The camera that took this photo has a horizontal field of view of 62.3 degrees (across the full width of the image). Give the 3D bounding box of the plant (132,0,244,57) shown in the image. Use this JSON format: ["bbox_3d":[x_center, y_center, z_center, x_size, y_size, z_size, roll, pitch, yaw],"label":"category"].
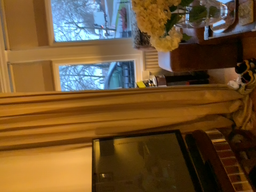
[{"bbox_3d":[0.260,-0.410,1.040,0.330,0.430,0.400,-118,24,-79],"label":"plant"}]

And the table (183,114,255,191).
[{"bbox_3d":[0.810,0.740,1.360,0.560,0.500,1.120,90,173,-46],"label":"table"}]
